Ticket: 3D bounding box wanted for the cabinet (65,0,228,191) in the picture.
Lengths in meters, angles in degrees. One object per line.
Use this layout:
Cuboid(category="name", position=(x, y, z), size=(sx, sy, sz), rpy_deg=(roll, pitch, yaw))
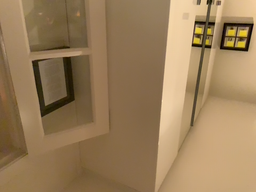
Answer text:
Cuboid(category="cabinet", position=(0.440, -0.840, 1.880), size=(0.580, 2.370, 2.160), rpy_deg=(13, -154, 27))
